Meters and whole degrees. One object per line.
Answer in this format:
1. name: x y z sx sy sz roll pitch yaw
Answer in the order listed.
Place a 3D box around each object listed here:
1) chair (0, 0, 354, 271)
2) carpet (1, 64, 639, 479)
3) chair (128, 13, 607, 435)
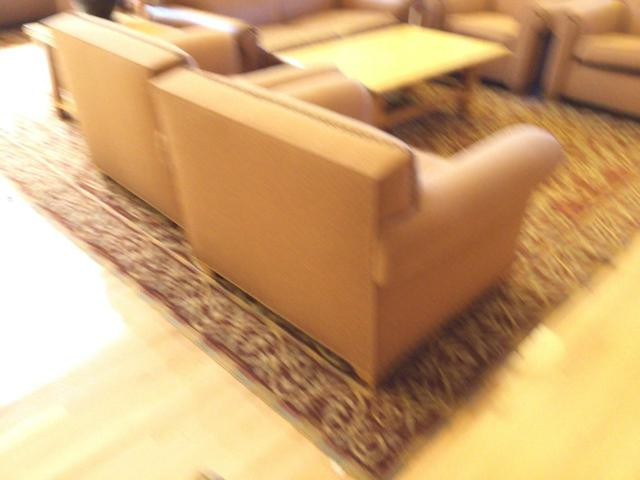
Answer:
1. chair: -0.580 -0.620 2.530 1.020 0.830 1.000 -28 42 -37
2. carpet: 0.080 -0.230 2.580 2.270 0.260 1.990 28 42 36
3. chair: 0.130 -0.200 1.980 0.980 0.810 1.080 -28 42 -37
